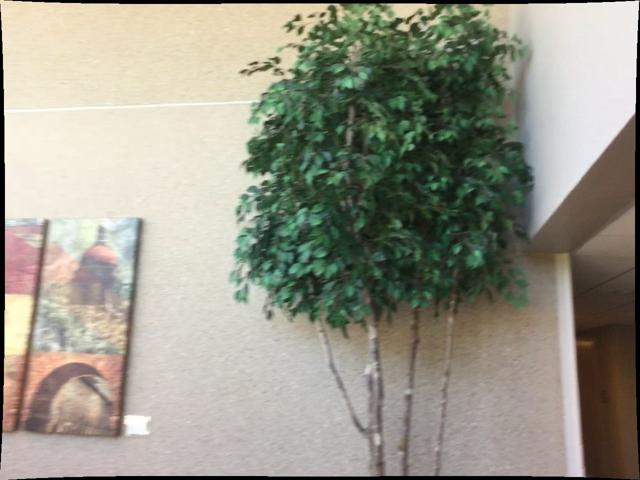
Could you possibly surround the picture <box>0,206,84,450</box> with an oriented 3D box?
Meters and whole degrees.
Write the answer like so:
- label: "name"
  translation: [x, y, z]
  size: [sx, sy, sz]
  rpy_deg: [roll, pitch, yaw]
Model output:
- label: "picture"
  translation: [-2.666, 0.601, 4.250]
  size: [1.847, 1.643, 0.200]
  rpy_deg: [-1, -8, 15]
